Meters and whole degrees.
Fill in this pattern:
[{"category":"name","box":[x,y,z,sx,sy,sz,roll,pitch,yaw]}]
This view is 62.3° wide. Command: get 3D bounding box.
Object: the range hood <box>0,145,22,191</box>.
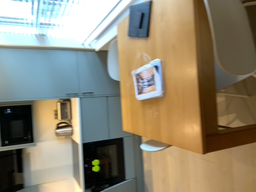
[{"category":"range hood","box":[-1.600,0.970,2.740,0.300,0.380,0.570,178,89,-65]}]
